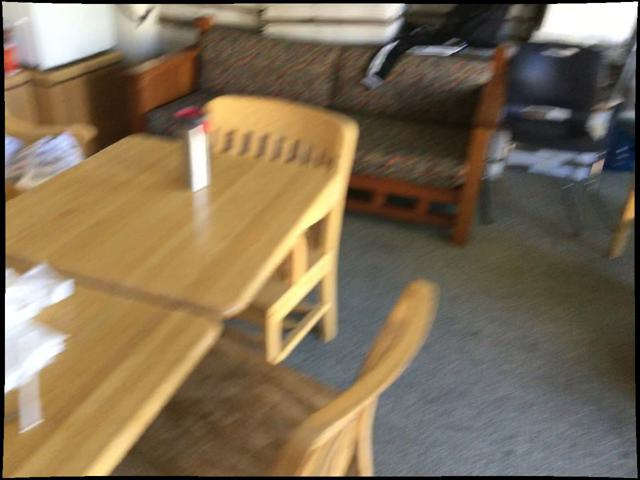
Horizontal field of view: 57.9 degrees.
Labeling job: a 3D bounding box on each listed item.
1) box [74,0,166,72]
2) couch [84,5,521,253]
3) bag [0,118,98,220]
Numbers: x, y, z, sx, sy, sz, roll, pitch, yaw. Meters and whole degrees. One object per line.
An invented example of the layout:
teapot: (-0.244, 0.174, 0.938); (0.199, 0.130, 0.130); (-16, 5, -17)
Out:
box: (-1.259, -1.381, 3.640); (0.430, 0.530, 0.250); (10, 33, 15)
couch: (-0.040, -0.701, 3.150); (2.008, 0.801, 0.980); (10, 33, 15)
bag: (-1.119, -0.280, 2.170); (0.360, 0.200, 0.370); (10, 33, 15)
